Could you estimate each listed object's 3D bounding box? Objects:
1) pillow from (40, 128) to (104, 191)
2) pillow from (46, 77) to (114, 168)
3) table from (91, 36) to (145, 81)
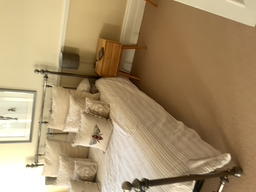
[{"bbox_3d":[-0.800,0.950,2.780,1.130,0.550,0.540,43,124,56],"label":"pillow"},{"bbox_3d":[-0.660,0.240,2.580,1.140,0.500,0.590,42,124,56],"label":"pillow"},{"bbox_3d":[-0.150,-0.520,3.000,0.360,0.590,0.480,42,124,56],"label":"table"}]
